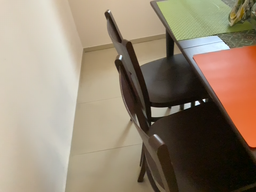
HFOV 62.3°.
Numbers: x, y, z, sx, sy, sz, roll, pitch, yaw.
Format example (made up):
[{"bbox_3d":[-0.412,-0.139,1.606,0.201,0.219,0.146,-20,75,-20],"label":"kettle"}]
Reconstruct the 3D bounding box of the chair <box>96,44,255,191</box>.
[{"bbox_3d":[0.210,0.260,0.870,0.470,0.730,0.400,-16,41,-8],"label":"chair"}]

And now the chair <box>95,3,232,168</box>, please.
[{"bbox_3d":[0.160,-0.030,1.190,0.500,0.740,0.410,-13,41,-4],"label":"chair"}]
